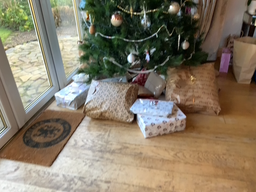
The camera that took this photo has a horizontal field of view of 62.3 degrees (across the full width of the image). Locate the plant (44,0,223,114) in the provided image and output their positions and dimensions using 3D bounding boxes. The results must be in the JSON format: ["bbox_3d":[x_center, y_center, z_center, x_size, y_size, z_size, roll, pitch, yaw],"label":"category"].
[{"bbox_3d":[0.000,-1.140,1.810,1.250,2.270,1.060,-5,30,-3],"label":"plant"}]
